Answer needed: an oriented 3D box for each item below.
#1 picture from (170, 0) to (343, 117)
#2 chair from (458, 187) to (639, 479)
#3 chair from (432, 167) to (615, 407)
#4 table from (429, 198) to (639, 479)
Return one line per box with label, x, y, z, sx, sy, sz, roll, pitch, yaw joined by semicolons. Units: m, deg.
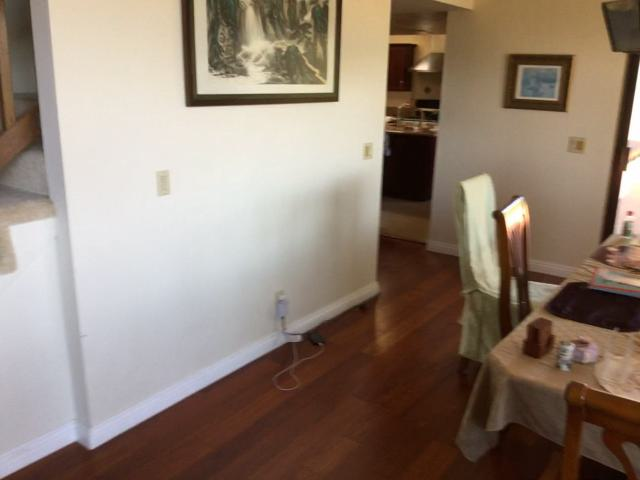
picture;-0.250;-1.030;2.880;0.080;0.760;1.160;10;18;36
chair;1.050;0.360;2.480;0.670;1.040;0.580;10;18;36
chair;1.070;0.190;3.090;0.700;1.050;0.580;10;18;36
table;1.470;0.510;2.270;1.210;0.900;2.160;10;18;35
